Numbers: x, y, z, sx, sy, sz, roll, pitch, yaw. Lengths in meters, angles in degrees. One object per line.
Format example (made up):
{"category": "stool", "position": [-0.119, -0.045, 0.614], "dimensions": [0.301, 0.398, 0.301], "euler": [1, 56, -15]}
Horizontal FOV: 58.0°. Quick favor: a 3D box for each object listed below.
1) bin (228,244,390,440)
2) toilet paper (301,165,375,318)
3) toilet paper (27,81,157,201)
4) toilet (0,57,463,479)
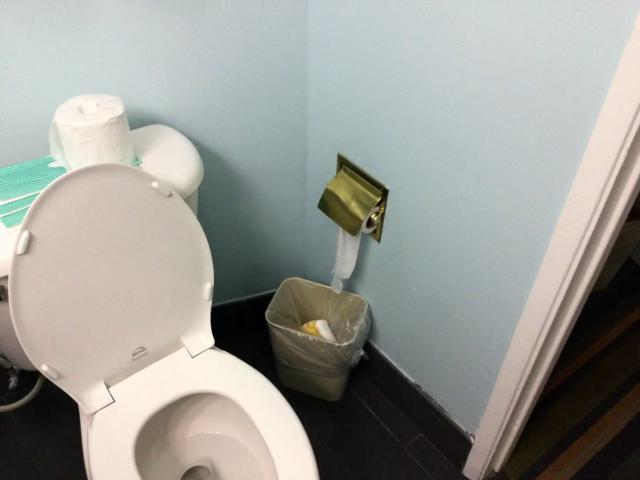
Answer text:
{"category": "bin", "position": [-0.030, 0.250, 1.480], "dimensions": [0.230, 0.280, 0.340], "euler": [-28, 48, -26]}
{"category": "toilet paper", "position": [0.040, 0.010, 1.300], "dimensions": [0.090, 0.320, 0.130], "euler": [-28, 48, -26]}
{"category": "toilet paper", "position": [-0.380, -0.170, 0.970], "dimensions": [0.140, 0.110, 0.140], "euler": [-28, 48, -26]}
{"category": "toilet", "position": [-0.260, 0.270, 1.050], "dimensions": [0.530, 0.850, 0.740], "euler": [-28, 48, -26]}
